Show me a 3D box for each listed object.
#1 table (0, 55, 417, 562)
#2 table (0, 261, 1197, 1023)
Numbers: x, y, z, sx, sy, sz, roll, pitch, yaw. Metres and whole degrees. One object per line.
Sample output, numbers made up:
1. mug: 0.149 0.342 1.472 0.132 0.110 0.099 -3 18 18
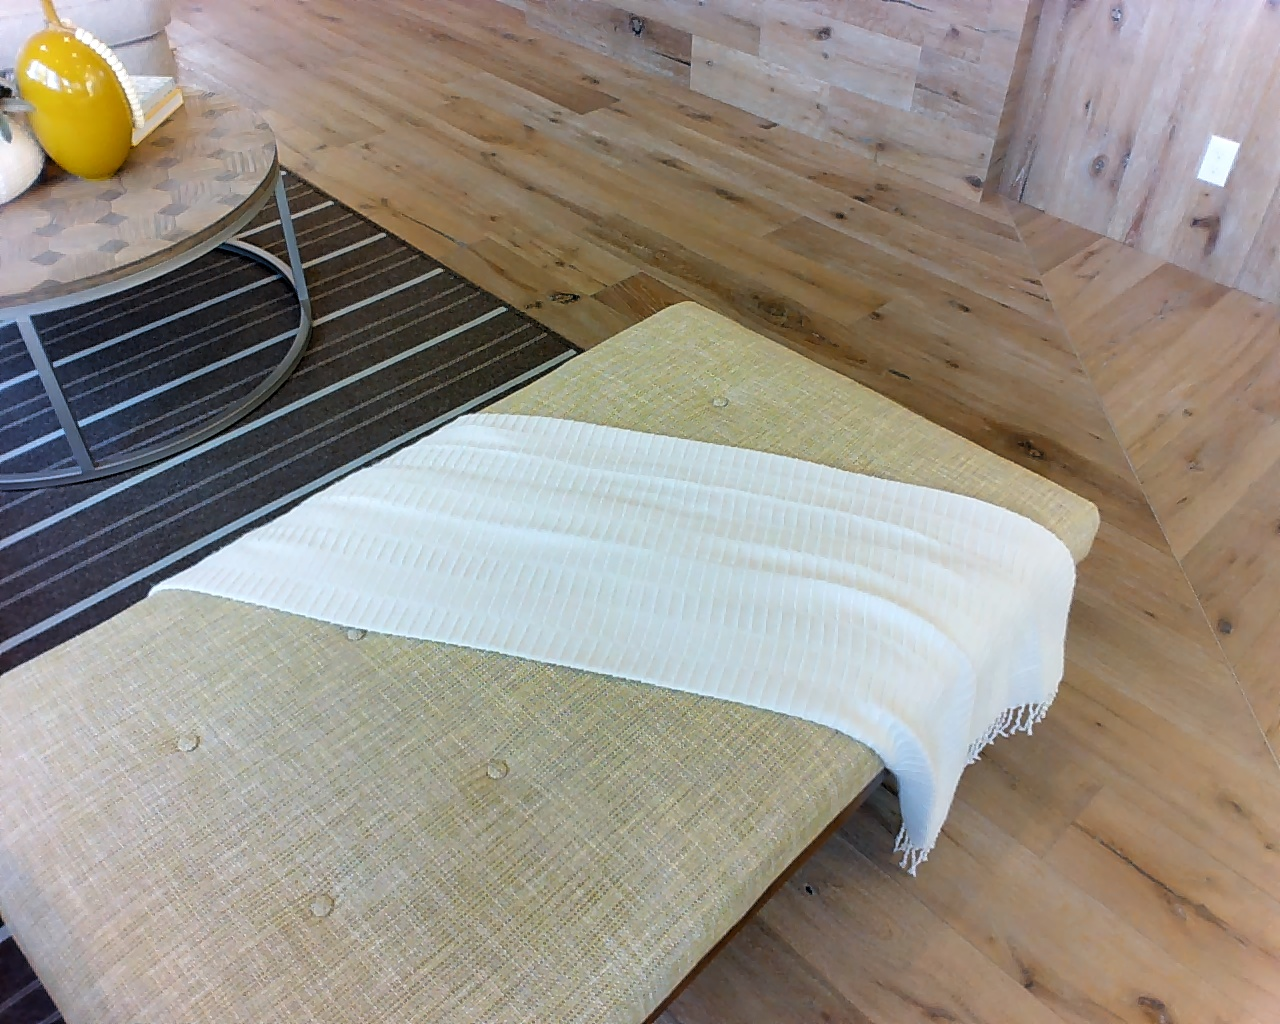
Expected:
1. table: -1.310 -0.540 2.460 1.090 0.480 1.090 -32 50 -31
2. table: -0.080 0.280 1.540 1.510 0.500 0.930 -32 51 -31
